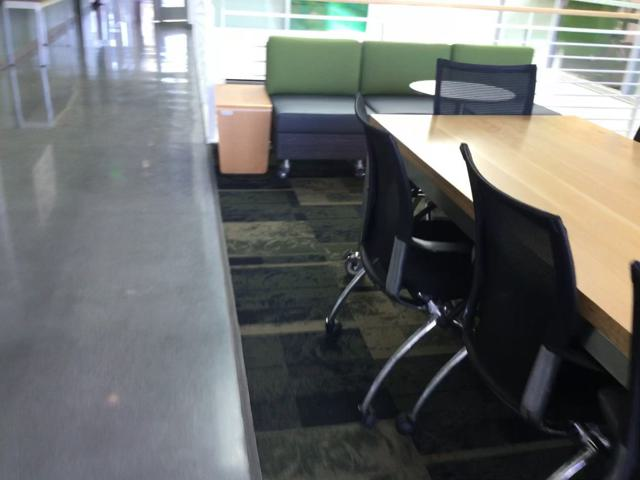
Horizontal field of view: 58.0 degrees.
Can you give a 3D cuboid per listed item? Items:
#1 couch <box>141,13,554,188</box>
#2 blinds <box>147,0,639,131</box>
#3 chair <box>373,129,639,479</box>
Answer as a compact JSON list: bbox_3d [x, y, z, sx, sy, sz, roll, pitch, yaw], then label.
[{"bbox_3d":[0.130,-0.980,3.930,2.510,0.880,0.950,-4,26,-16],"label":"couch"},{"bbox_3d":[1.250,-1.540,4.530,4.980,1.240,0.360,-4,26,-16],"label":"blinds"},{"bbox_3d":[0.560,0.250,1.480,0.570,0.910,0.640,-4,26,-16],"label":"chair"}]
